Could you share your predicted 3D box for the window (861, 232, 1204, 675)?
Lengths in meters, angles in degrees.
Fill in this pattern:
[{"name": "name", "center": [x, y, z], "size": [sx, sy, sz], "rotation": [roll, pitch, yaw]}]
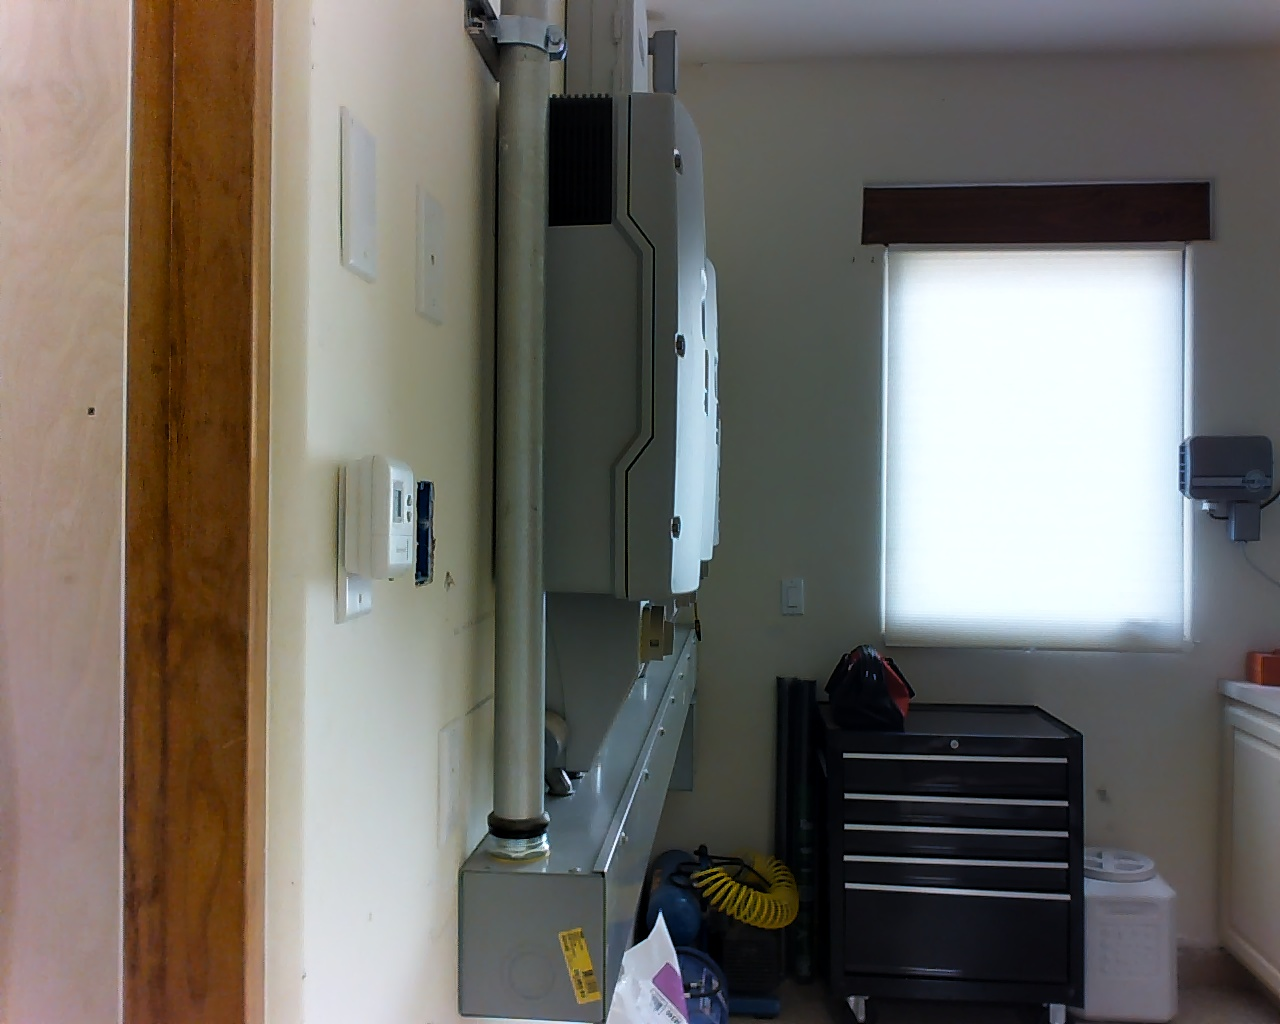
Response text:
[{"name": "window", "center": [1.200, -0.180, 3.320], "size": [0.990, 1.330, 0.100], "rotation": [1, 0, 6]}]
